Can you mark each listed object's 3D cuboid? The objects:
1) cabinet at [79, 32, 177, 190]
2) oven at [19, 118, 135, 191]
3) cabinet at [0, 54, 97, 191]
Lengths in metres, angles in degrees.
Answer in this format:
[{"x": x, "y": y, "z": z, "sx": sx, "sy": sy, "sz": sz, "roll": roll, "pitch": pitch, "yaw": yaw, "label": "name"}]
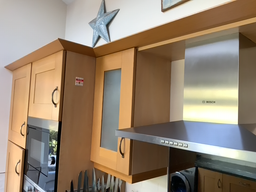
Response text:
[{"x": 0.010, "y": 0.090, "z": 1.440, "sx": 0.490, "sy": 0.840, "sz": 0.400, "roll": 5, "pitch": -4, "yaw": -41, "label": "cabinet"}, {"x": -0.420, "y": 0.450, "z": 1.740, "sx": 0.690, "sy": 0.490, "sz": 0.620, "roll": 5, "pitch": -4, "yaw": -41, "label": "oven"}, {"x": -0.850, "y": 0.760, "z": 2.170, "sx": 0.720, "sy": 2.160, "sz": 0.610, "roll": 5, "pitch": -4, "yaw": -41, "label": "cabinet"}]
